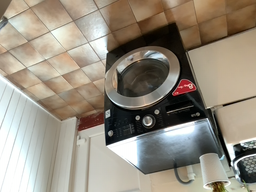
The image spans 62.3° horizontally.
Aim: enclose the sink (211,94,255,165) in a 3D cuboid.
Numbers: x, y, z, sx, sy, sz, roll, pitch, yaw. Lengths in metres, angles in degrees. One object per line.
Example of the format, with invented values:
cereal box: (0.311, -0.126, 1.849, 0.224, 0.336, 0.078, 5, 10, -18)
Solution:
sink: (0.890, 0.190, 1.350, 0.580, 0.260, 0.400, -18, 140, 16)
